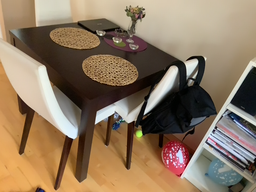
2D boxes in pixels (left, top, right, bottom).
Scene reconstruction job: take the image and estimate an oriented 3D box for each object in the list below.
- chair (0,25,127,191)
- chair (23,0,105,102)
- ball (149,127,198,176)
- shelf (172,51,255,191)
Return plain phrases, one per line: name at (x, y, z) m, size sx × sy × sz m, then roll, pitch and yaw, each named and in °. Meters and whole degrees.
chair at (-0.460, 0.090, 1.390) m, size 0.490 × 0.860 × 0.610 m, roll 29°, pitch 38°, yaw 19°
chair at (-0.660, -0.530, 2.100) m, size 0.480 × 0.920 × 0.600 m, roll -18°, pitch 47°, yaw -37°
ball at (0.380, 0.450, 1.770) m, size 0.370 × 0.160 × 0.190 m, roll -24°, pitch 51°, yaw -41°
shelf at (0.710, 0.300, 1.370) m, size 0.420 × 1.060 × 0.320 m, roll 36°, pitch 41°, yaw 27°
